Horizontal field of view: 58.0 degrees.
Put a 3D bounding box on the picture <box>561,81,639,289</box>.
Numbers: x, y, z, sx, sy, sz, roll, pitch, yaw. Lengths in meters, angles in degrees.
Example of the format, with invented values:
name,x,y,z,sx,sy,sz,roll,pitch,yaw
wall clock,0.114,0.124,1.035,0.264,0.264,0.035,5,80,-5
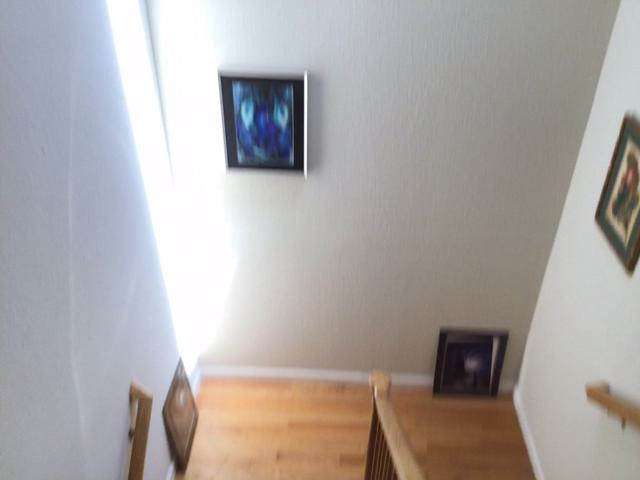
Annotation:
name,x,y,z,sx,sy,sz,roll,pitch,yaw
picture,1.200,-0.250,2.370,0.050,0.550,0.740,2,36,1
